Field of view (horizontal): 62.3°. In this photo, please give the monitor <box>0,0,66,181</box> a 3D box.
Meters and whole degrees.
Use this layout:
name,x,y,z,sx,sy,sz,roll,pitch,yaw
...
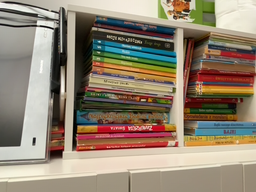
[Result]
name,x,y,z,sx,sy,sz,roll,pitch,yaw
monitor,-0.380,-0.080,0.570,0.040,0.400,0.590,118,149,-52
